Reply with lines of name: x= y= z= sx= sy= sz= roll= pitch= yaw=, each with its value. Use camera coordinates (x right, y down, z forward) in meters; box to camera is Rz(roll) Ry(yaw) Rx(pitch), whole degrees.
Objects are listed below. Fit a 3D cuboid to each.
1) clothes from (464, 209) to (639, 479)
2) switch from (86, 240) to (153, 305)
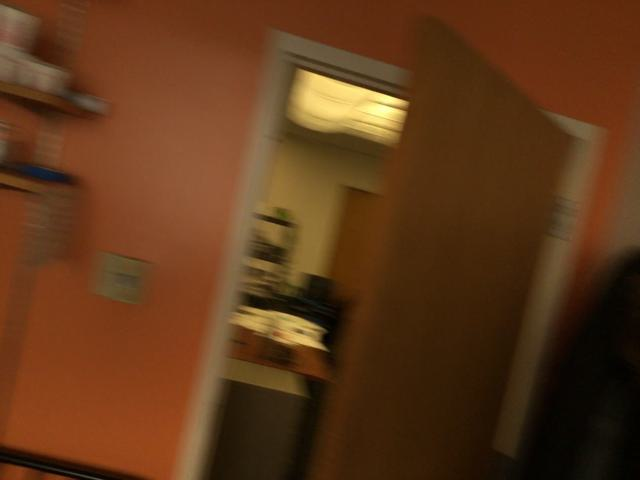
clothes: x=0.620 y=0.750 z=1.320 sx=0.240 sy=1.610 sz=0.890 roll=13 pitch=2 yaw=-9
switch: x=-0.560 y=0.090 z=1.620 sx=0.140 sy=0.150 sz=0.060 roll=13 pitch=2 yaw=-9
